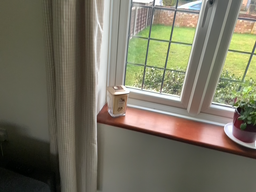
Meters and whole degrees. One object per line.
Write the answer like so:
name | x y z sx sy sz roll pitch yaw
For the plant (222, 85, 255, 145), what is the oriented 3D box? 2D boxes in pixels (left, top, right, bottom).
plant | 0.580 0.090 0.990 0.190 0.210 0.160 11 27 10
